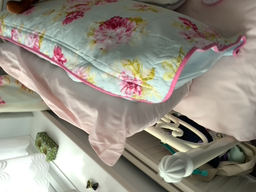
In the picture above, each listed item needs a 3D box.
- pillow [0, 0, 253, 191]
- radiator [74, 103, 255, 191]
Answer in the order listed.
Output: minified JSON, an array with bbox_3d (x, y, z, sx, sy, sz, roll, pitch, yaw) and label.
[{"bbox_3d":[-0.200,-0.180,0.760,1.000,0.440,0.380,22,106,19],"label":"pillow"},{"bbox_3d":[0.270,0.290,0.940,1.080,0.490,0.060,29,108,36],"label":"radiator"}]
